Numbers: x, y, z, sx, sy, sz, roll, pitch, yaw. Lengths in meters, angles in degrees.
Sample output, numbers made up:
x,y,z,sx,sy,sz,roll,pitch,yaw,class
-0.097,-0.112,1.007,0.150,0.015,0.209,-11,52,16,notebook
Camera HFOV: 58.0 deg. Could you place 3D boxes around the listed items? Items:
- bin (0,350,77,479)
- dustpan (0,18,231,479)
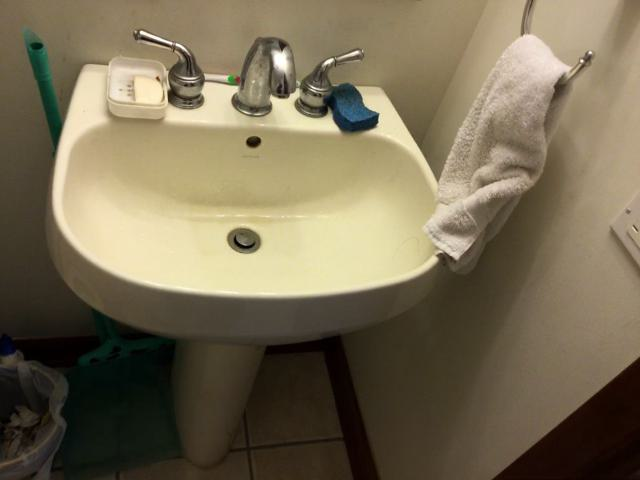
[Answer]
x,y,z,sx,sy,sz,roll,pitch,yaw,class
-0.650,0.400,1.180,0.260,0.220,0.250,0,49,-18,bin
-0.380,0.120,1.050,0.290,0.920,0.310,0,49,-18,dustpan
